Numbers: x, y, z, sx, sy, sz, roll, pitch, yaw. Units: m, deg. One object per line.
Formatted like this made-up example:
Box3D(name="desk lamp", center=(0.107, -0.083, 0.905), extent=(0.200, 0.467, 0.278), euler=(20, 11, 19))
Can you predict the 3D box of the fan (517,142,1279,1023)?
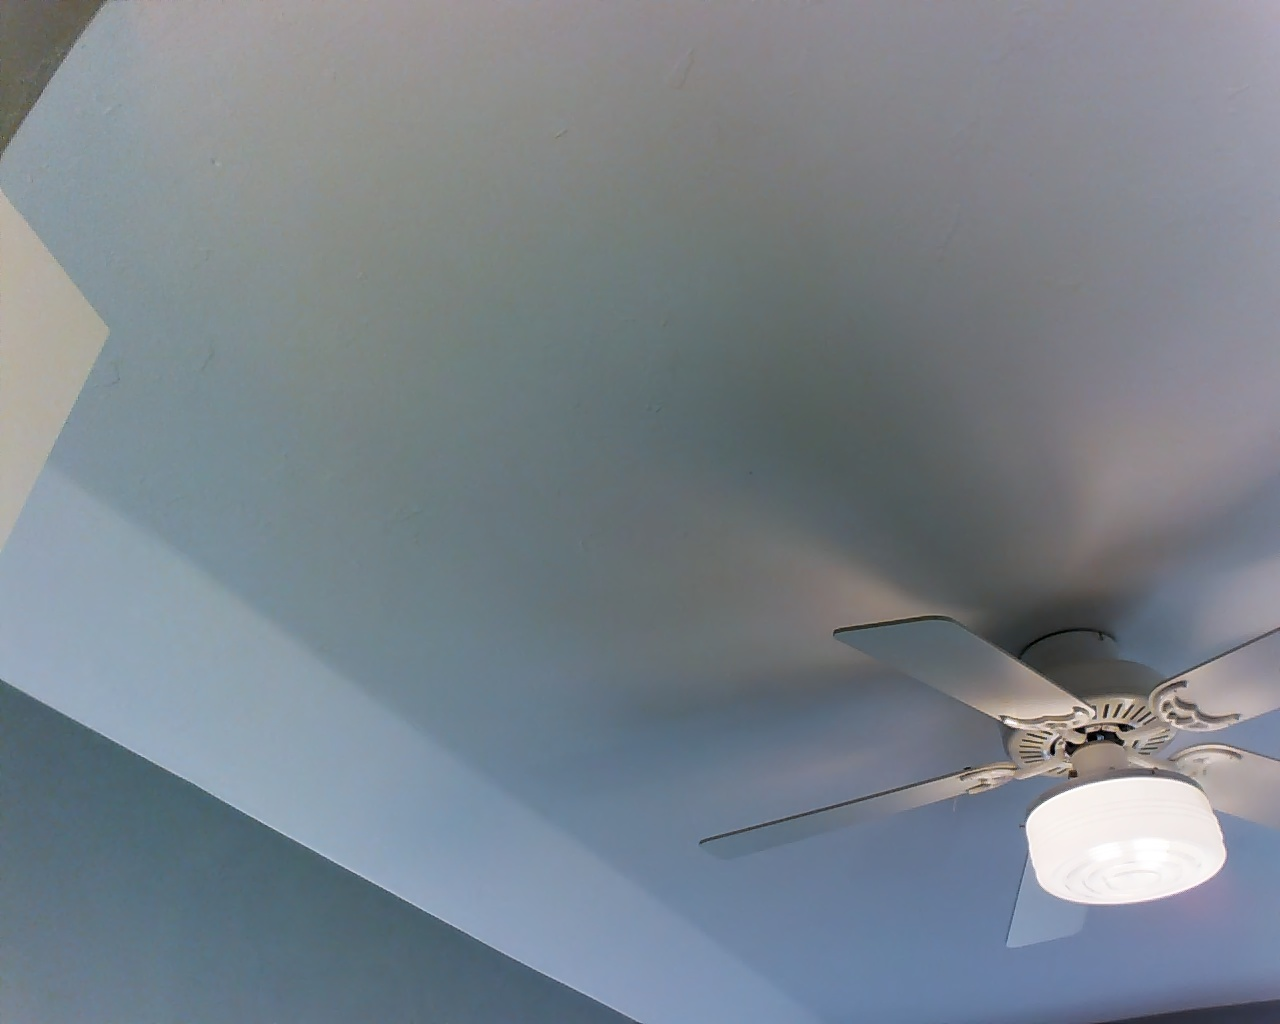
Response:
Box3D(name="fan", center=(0.740, 0.370, 1.670), extent=(1.320, 0.340, 1.320), euler=(28, -49, -28))
